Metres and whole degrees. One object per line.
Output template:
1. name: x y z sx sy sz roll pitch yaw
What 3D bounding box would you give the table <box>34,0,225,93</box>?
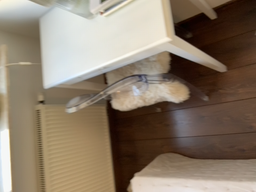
1. table: 0.040 -0.290 1.230 0.750 0.780 0.390 -13 81 36
